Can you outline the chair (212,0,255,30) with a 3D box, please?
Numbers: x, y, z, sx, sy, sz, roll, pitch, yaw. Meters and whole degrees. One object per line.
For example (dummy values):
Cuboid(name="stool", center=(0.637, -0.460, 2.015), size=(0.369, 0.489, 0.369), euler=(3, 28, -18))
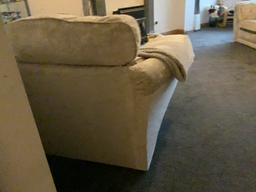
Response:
Cuboid(name="chair", center=(2.700, -2.260, 5.390), size=(0.730, 0.930, 0.890), euler=(0, 28, 6))
